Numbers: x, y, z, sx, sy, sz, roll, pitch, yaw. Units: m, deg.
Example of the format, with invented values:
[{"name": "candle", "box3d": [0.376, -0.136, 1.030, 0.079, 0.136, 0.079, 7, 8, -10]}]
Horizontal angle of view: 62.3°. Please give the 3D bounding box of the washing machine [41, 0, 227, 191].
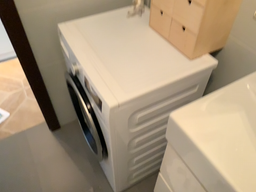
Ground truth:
[{"name": "washing machine", "box3d": [-0.020, 0.030, 1.260, 0.590, 0.840, 0.640, -22, 52, -20]}]
